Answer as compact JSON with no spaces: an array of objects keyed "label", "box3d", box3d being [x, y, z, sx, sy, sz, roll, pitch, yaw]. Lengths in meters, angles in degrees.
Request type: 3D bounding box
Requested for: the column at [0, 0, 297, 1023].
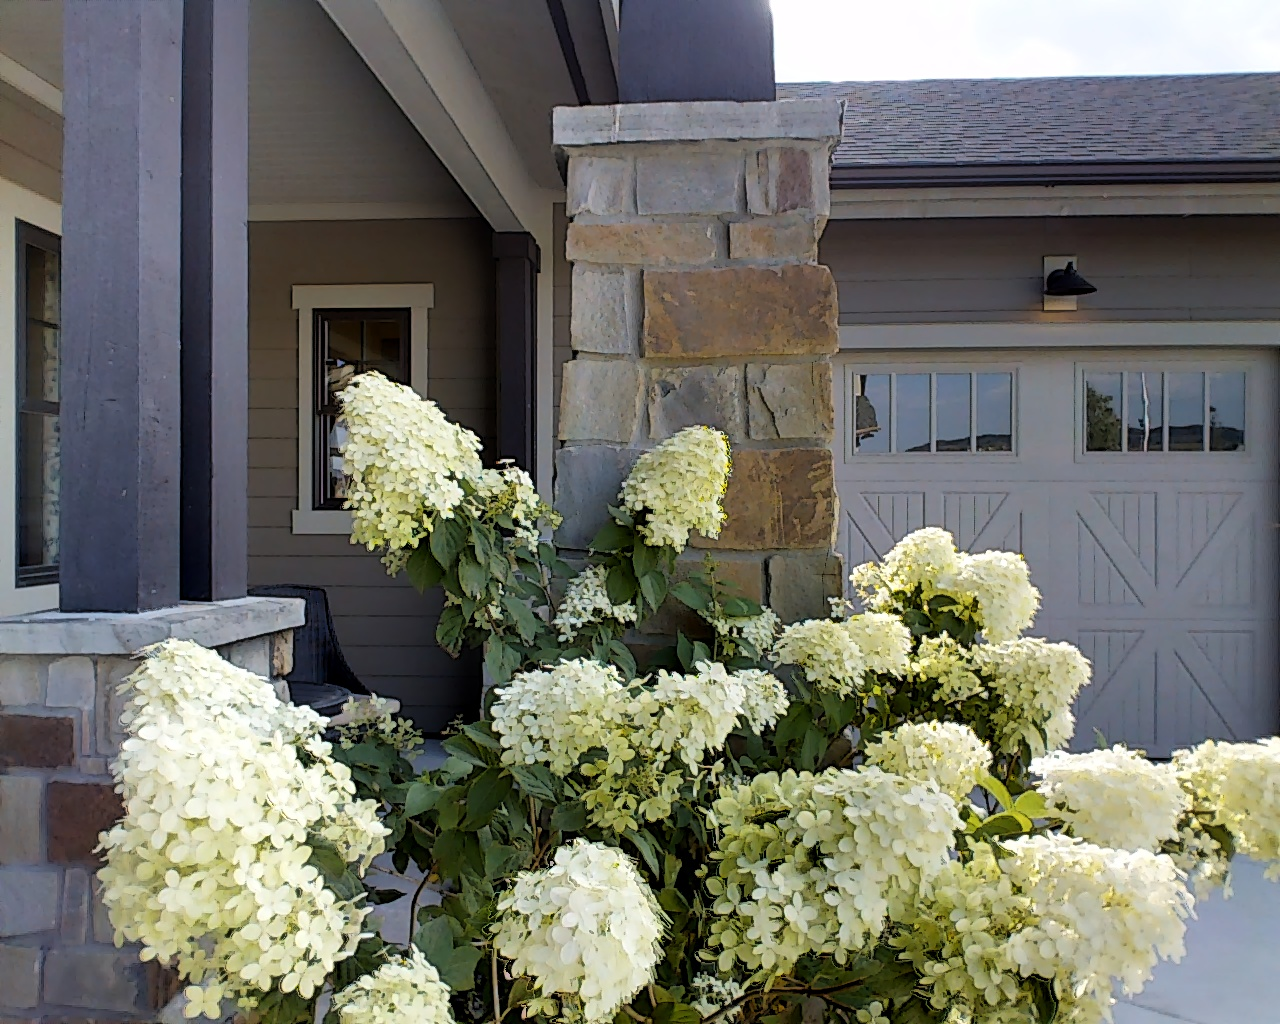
[{"label":"column","box3d":[-0.970,-0.070,1.970,0.490,2.890,0.450,-1,0,4]}]
